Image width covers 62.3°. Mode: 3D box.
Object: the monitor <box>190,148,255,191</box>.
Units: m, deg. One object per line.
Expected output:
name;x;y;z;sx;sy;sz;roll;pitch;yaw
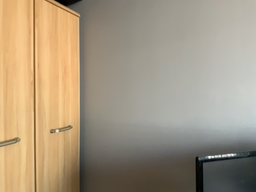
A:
monitor;0.500;0.430;0.900;0.500;0.390;0.080;2;3;-18
